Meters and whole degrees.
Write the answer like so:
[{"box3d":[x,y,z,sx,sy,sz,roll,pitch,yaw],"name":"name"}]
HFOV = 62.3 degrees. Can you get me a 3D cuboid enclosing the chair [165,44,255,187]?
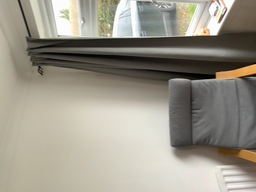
[{"box3d":[0.860,0.110,1.530,0.820,0.950,0.710,156,113,-81],"name":"chair"}]
